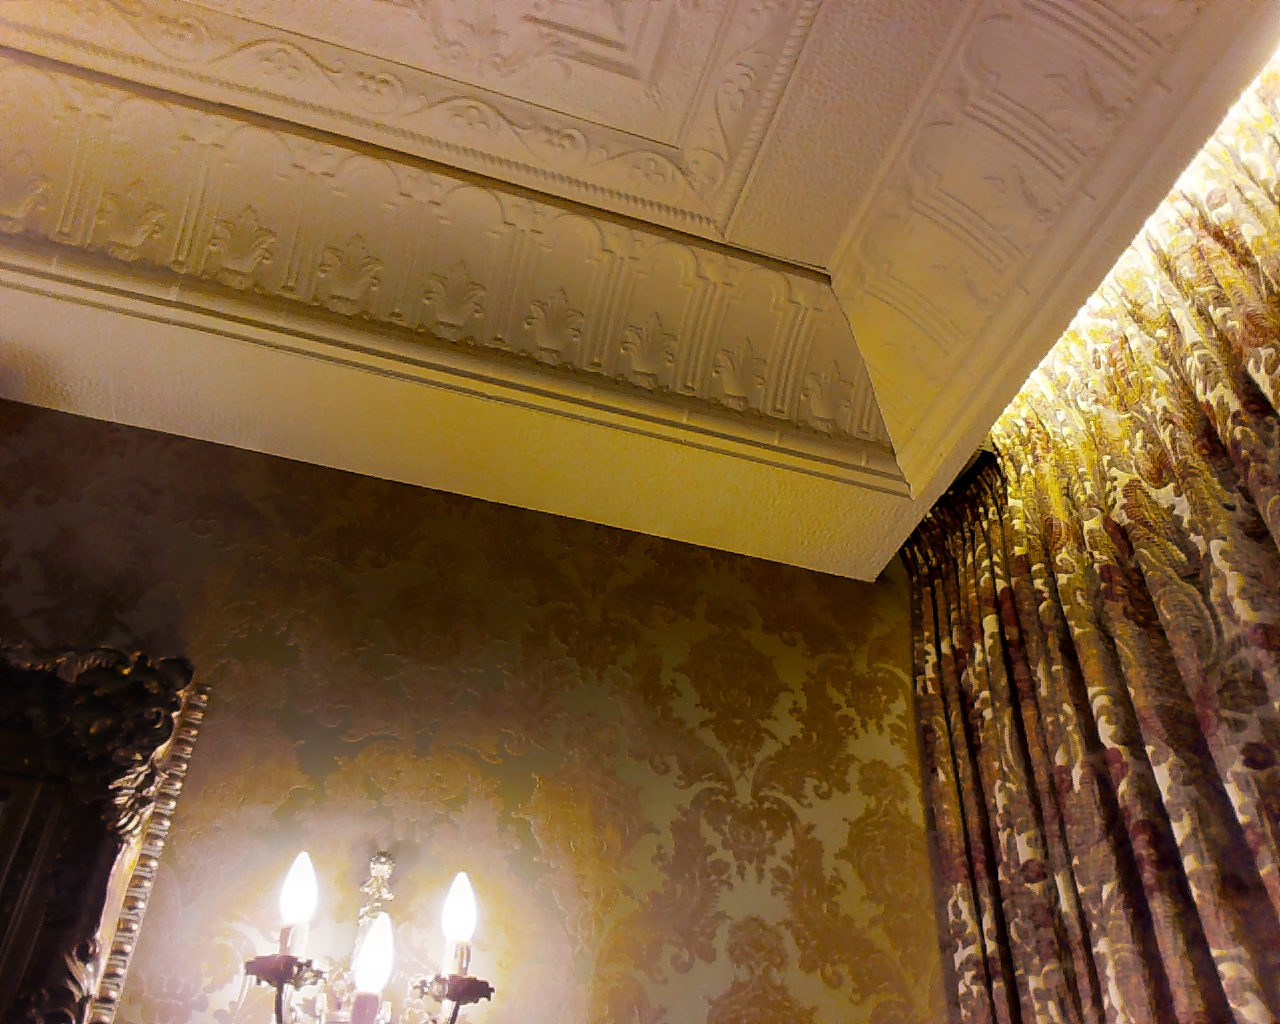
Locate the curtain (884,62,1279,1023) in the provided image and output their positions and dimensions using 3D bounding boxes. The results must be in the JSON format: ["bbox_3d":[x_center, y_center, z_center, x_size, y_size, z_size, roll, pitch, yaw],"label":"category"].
[{"bbox_3d":[0.610,0.240,1.100,0.140,1.210,0.860,13,-43,-14],"label":"curtain"}]
